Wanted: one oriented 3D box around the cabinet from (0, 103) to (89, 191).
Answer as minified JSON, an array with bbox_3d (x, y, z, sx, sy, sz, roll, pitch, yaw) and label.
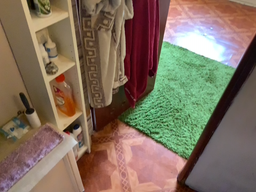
[{"bbox_3d":[-0.510,0.440,1.100,0.330,0.570,0.470,28,51,21],"label":"cabinet"}]
